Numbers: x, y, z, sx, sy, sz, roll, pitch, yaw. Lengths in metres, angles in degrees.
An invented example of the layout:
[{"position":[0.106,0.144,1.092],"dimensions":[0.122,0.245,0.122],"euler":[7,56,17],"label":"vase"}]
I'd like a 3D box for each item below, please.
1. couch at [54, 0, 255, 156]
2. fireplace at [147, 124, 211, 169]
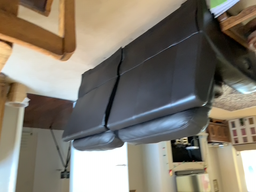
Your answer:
[{"position":[0.160,-0.010,1.990],"dimensions":[1.090,1.010,1.510],"euler":[12,157,-38],"label":"couch"},{"position":[1.140,1.120,4.610],"dimensions":[1.470,0.810,0.500],"euler":[12,157,-39],"label":"fireplace"}]
